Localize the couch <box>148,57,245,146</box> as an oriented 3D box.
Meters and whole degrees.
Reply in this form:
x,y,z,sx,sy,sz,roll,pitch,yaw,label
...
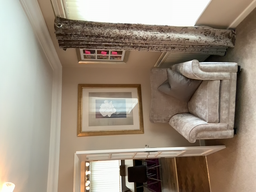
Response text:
x,y,z,sx,sy,sz,roll,pitch,yaw,label
0.820,0.020,2.860,0.930,0.890,0.980,-146,56,-80,couch
